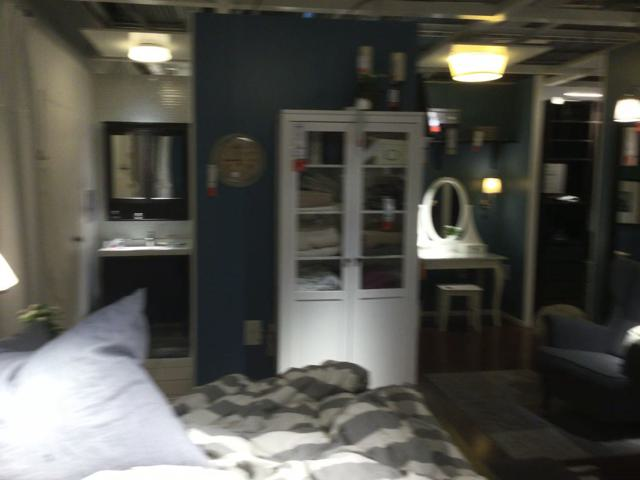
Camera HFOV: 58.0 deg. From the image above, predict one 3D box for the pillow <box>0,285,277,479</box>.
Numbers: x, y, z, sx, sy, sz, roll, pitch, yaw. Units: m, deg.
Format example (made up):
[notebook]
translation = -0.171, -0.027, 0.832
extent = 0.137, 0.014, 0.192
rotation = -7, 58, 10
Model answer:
[pillow]
translation = -0.560, 0.400, 1.390
extent = 0.900, 0.470, 0.580
rotation = -1, 6, -5

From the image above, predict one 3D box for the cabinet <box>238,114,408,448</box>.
[cabinet]
translation = 0.000, 0.240, 3.650
extent = 0.980, 1.970, 0.480
rotation = -1, 6, -6

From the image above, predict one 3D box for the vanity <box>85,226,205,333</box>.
[vanity]
translation = -1.660, 0.360, 5.600
extent = 1.000, 0.940, 0.500
rotation = -1, 6, -6
